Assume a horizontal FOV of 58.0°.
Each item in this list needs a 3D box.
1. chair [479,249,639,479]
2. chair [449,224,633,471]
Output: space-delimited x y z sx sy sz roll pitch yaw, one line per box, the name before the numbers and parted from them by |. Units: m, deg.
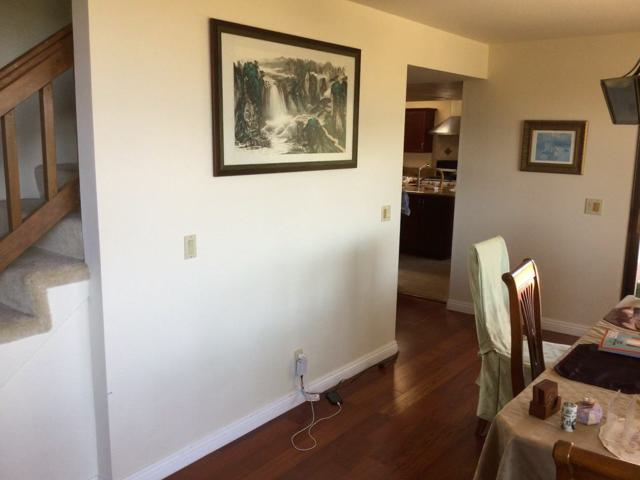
chair | 1.150 0.630 2.480 0.690 1.060 0.580 7 10 40
chair | 1.180 0.500 3.120 0.720 1.070 0.590 7 10 40
